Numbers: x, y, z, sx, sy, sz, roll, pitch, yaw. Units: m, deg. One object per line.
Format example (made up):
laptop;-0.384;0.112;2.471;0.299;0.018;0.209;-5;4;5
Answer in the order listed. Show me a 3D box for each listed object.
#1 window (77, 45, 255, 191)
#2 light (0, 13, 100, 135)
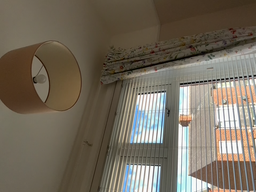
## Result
window;0.530;0.410;1.460;1.750;1.630;0.270;-6;-34;23
light;-0.470;-0.090;1.150;0.430;0.440;0.340;-18;-45;35
